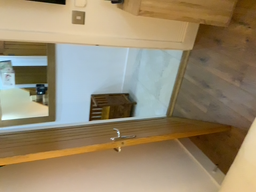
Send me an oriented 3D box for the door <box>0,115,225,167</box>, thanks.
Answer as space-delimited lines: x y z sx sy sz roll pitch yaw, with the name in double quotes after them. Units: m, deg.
-0.210 0.300 1.730 0.770 1.900 0.060 -176 84 -65 "door"
